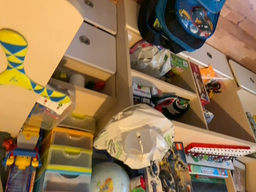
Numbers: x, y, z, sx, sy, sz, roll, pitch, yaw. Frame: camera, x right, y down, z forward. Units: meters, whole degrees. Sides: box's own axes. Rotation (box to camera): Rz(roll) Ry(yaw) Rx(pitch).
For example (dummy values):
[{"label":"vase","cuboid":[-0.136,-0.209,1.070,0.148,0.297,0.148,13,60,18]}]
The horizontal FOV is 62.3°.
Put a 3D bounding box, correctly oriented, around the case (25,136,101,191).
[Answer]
[{"label":"case","cuboid":[-0.270,0.400,0.860,0.230,0.380,0.230,18,141,-31]}]
